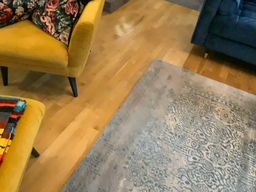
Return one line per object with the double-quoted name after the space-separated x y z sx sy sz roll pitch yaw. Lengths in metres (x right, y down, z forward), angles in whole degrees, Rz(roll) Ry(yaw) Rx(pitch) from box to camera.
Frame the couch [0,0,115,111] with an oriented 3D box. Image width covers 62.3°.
-0.580 -0.670 1.530 0.860 1.070 0.970 9 46 -1 "couch"
